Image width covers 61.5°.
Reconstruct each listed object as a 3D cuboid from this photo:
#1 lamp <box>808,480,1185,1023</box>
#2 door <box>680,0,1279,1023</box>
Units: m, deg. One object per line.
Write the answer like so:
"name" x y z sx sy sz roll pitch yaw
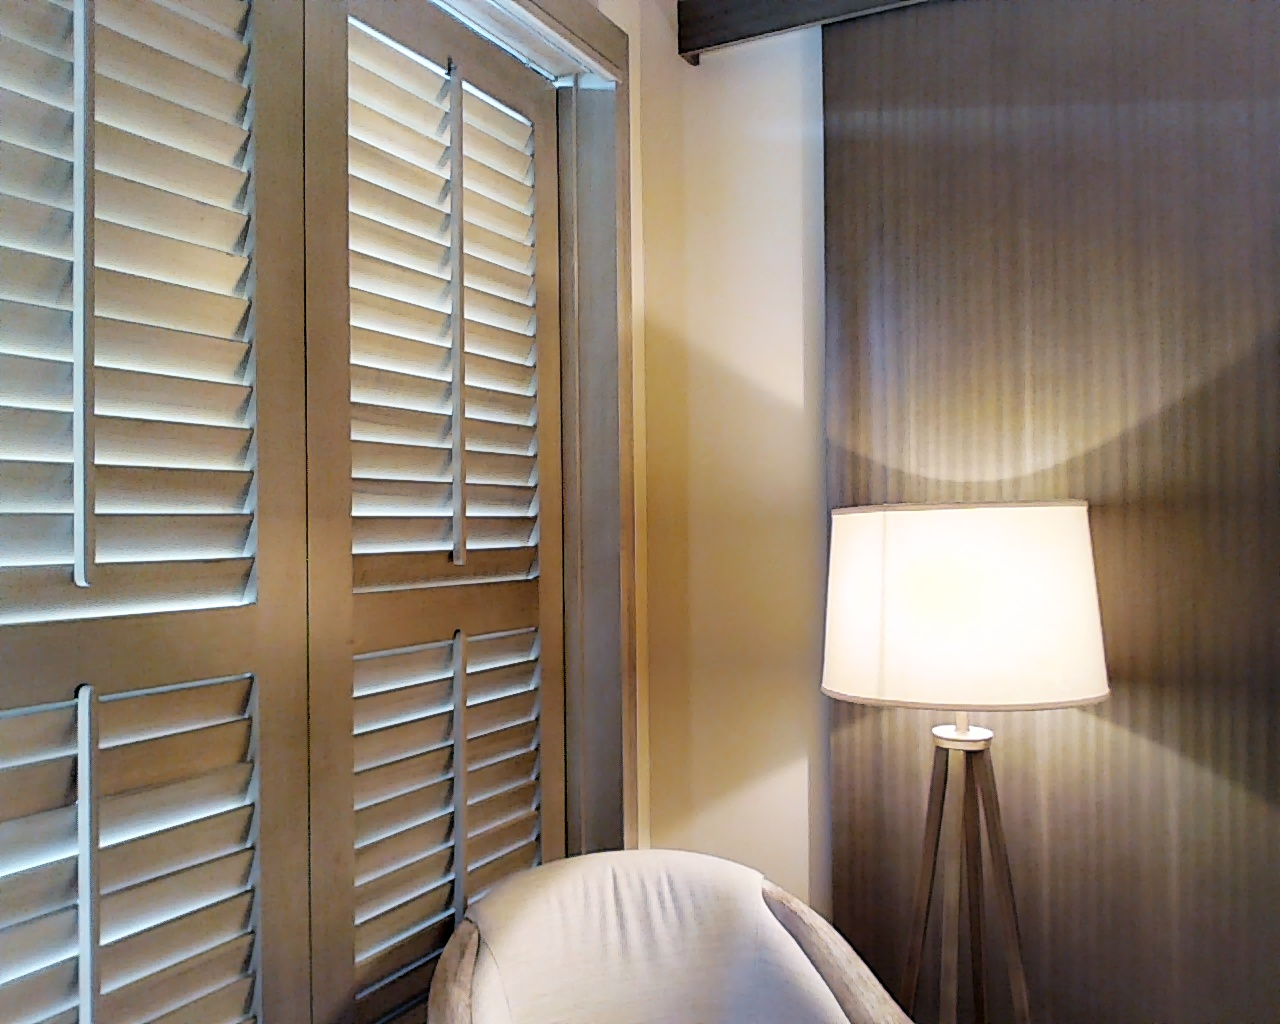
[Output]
"lamp" 0.610 0.630 1.890 0.490 1.360 0.380 -1 0 -17
"door" 0.770 0.050 2.200 1.450 2.630 0.100 -1 0 28
